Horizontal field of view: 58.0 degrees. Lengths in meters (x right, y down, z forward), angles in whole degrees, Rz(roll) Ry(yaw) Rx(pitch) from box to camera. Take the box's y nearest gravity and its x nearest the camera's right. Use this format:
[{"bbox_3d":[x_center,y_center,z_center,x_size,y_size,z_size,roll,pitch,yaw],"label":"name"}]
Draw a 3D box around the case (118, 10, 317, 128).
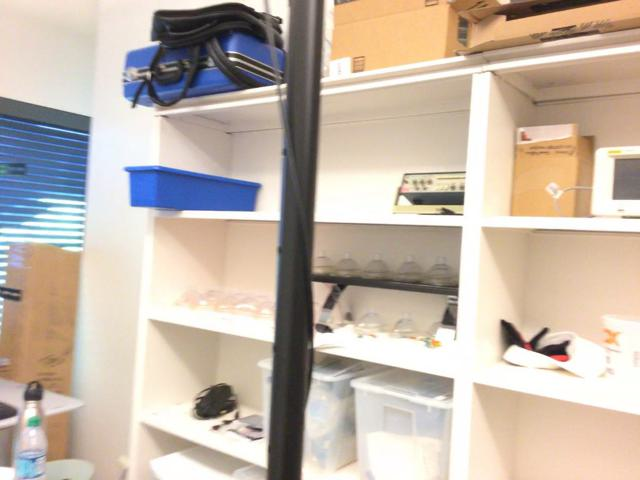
[{"bbox_3d":[-0.350,-0.560,2.000,0.510,0.180,0.440,0,-5,38],"label":"case"}]
